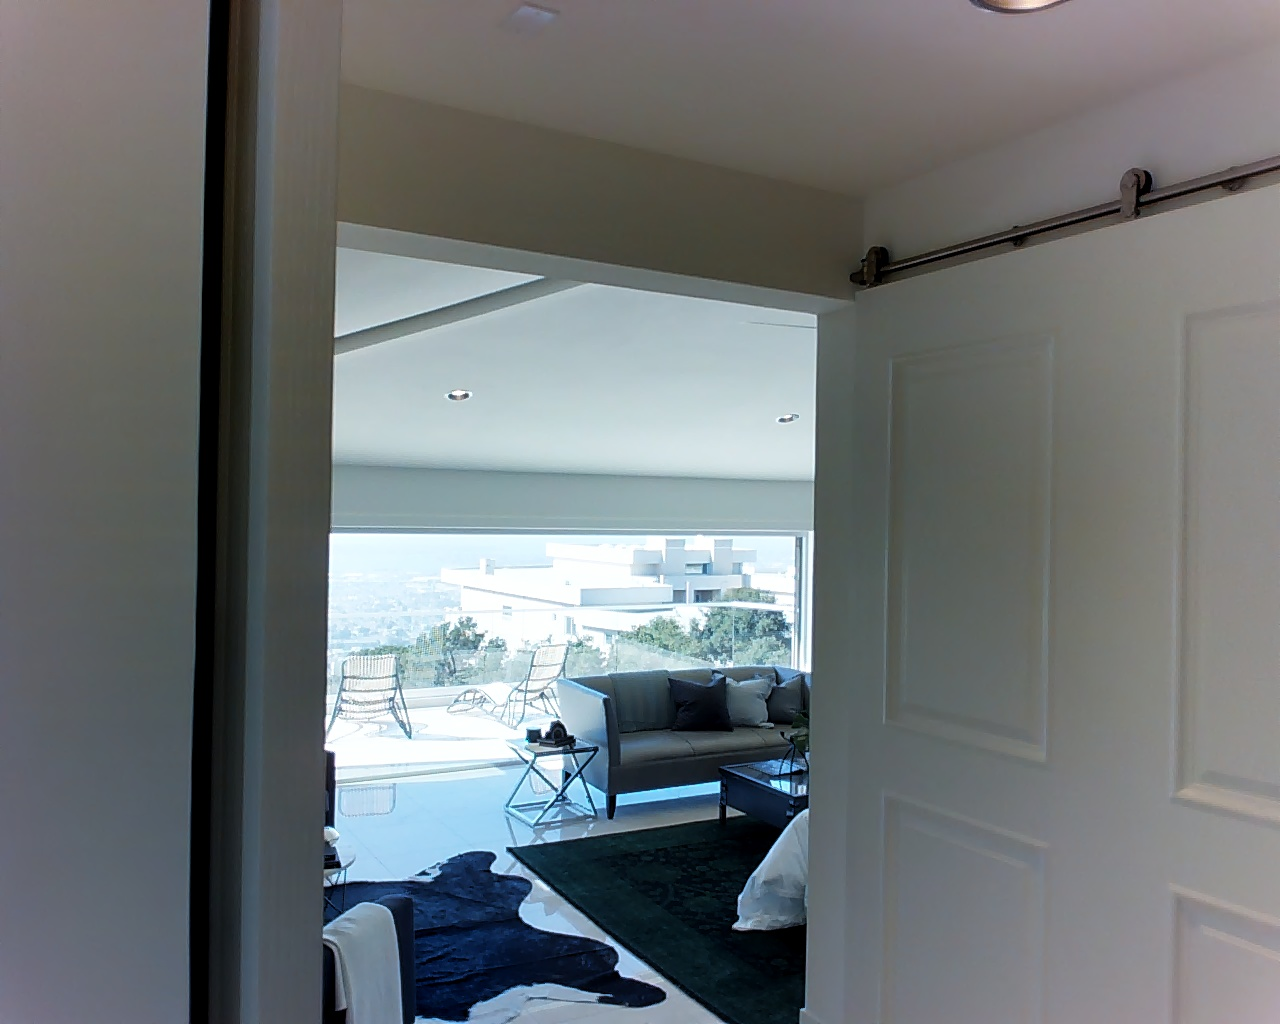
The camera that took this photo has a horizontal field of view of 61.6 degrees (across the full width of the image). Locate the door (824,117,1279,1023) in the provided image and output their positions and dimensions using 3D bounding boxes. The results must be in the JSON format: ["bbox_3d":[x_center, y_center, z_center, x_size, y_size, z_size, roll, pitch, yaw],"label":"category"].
[{"bbox_3d":[0.920,0.450,2.120,0.040,2.250,1.620,1,0,-30],"label":"door"}]
